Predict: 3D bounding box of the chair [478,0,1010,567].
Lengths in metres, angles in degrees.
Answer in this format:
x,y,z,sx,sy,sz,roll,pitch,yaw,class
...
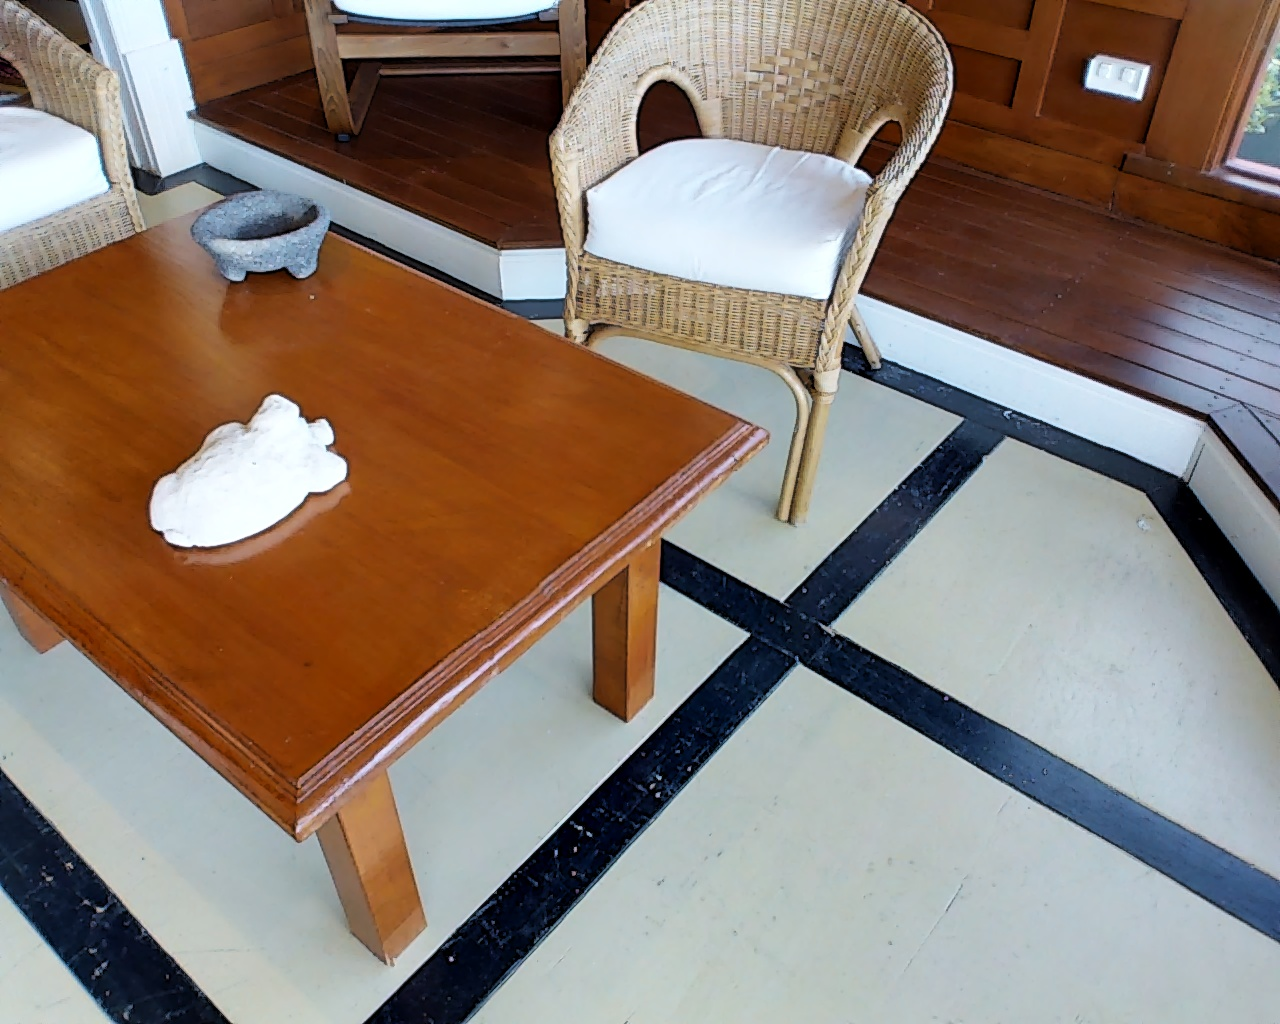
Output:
x,y,z,sx,sy,sz,roll,pitch,yaw,class
0.200,-0.480,1.980,0.660,0.750,0.680,17,43,19,chair

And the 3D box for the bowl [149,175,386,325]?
x,y,z,sx,sy,sz,roll,pitch,yaw,class
-0.540,-0.390,1.570,0.210,0.080,0.240,28,48,29,bowl

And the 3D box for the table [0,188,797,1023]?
x,y,z,sx,sy,sz,roll,pitch,yaw,class
-0.480,0.060,1.520,1.100,0.520,0.780,28,47,29,table
